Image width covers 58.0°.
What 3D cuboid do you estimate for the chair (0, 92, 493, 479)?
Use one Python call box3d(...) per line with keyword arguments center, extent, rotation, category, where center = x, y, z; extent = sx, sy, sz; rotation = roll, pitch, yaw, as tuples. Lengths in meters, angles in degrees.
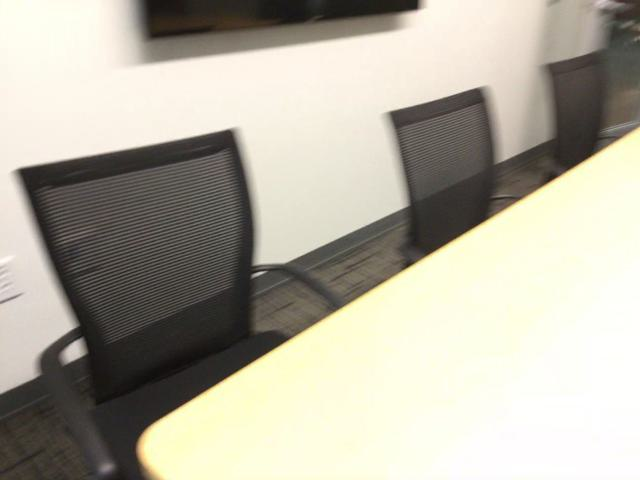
box3d(center=(-0.200, 0.300, 1.140), extent=(0.720, 0.960, 0.580), rotation=(25, 36, 39), category="chair")
